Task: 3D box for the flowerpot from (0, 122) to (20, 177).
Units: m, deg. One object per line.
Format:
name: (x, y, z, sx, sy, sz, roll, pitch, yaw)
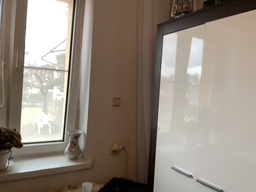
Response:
flowerpot: (-0.890, 0.360, 1.460, 0.230, 0.310, 0.250, 3, 2, -32)
